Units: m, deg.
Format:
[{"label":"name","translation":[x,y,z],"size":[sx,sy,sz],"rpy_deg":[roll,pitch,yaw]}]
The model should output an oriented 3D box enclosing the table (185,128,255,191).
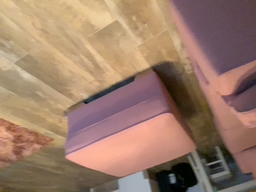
[{"label":"table","translation":[1.450,1.080,3.080],"size":[0.820,0.760,0.810],"rpy_deg":[-26,143,17]}]
